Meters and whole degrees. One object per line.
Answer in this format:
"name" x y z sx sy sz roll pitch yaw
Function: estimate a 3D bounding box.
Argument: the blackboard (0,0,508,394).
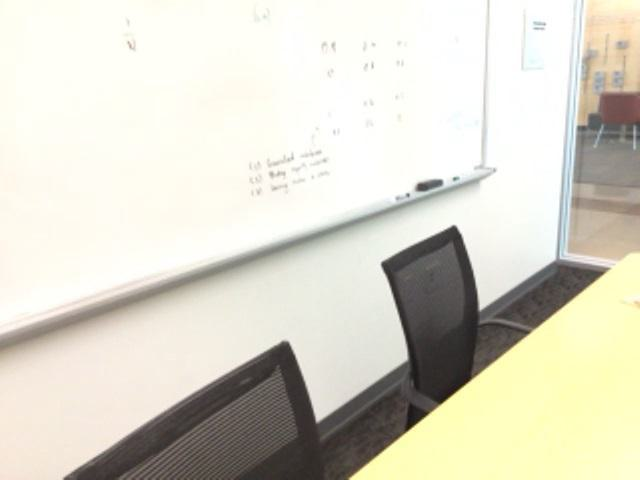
"blackboard" 0.010 -0.510 1.880 0.180 1.050 2.410 10 22 40

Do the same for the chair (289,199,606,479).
"chair" 0.360 0.430 1.570 0.550 0.930 0.600 10 22 40
